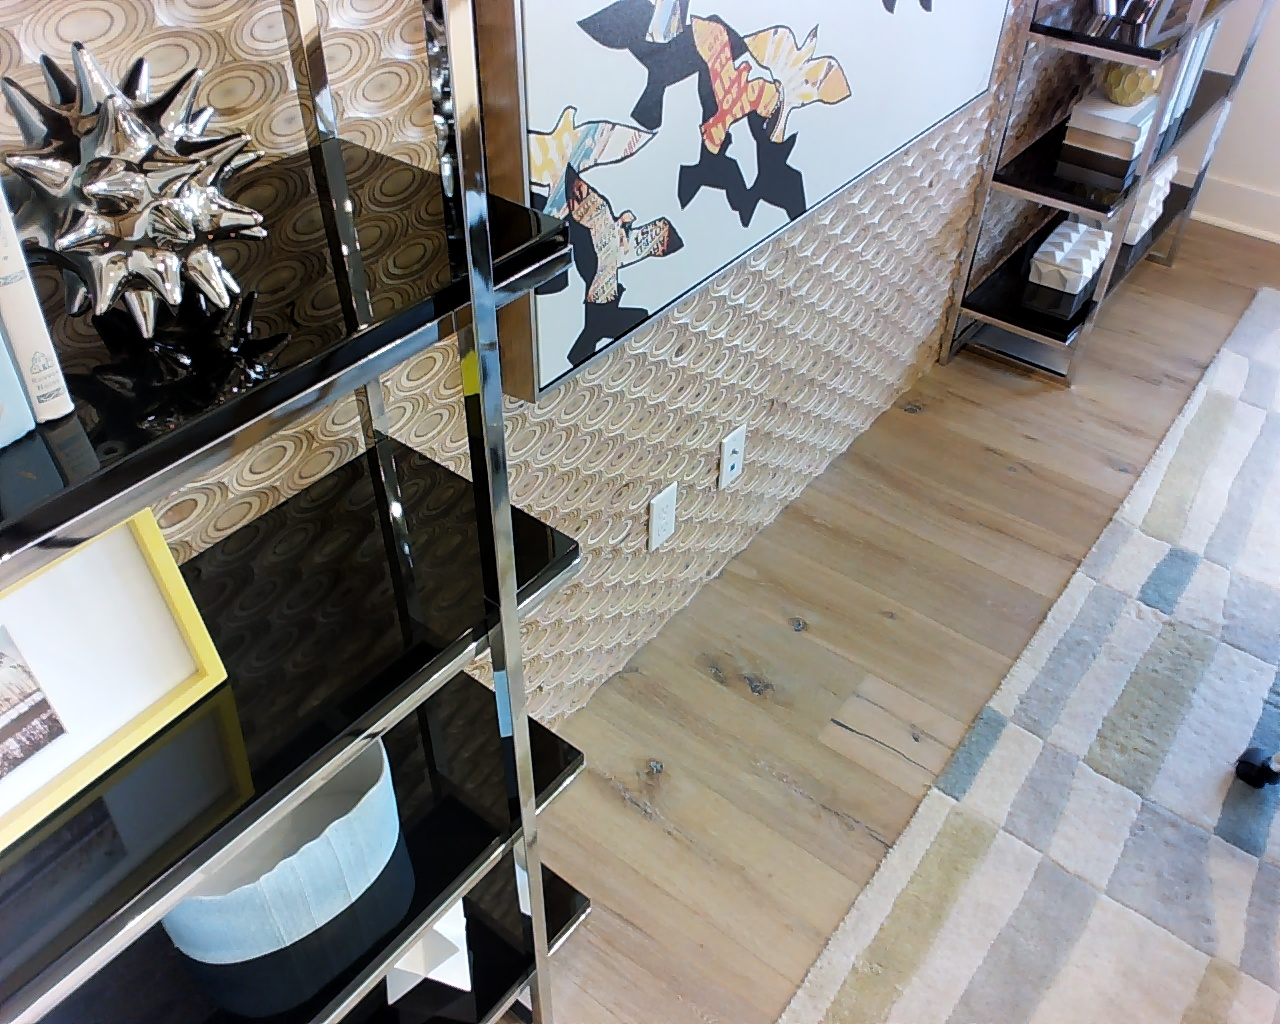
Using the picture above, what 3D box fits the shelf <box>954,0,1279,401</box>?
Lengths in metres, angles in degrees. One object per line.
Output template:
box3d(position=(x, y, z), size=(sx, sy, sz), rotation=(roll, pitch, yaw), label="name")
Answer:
box3d(position=(1.220, -1.120, 2.390), size=(0.320, 1.400, 1.060), rotation=(27, 48, 28), label="shelf")
